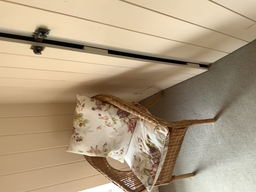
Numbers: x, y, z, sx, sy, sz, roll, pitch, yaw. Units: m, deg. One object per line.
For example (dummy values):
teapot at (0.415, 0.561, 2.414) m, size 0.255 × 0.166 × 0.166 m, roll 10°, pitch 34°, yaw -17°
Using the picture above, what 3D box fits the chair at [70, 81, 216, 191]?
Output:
chair at (0.090, 0.280, 1.600) m, size 0.600 × 0.780 × 0.600 m, roll 31°, pitch 114°, yaw 48°
